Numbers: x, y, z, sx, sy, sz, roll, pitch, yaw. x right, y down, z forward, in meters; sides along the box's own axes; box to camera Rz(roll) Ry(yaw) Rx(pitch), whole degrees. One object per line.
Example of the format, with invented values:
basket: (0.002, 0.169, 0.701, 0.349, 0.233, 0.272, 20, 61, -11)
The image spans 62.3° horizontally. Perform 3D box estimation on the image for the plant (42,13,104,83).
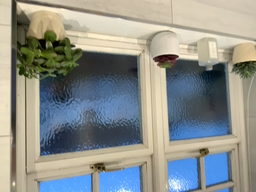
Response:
plant: (-0.200, -0.140, 0.720, 0.170, 0.160, 0.240, 0, 176, -22)
